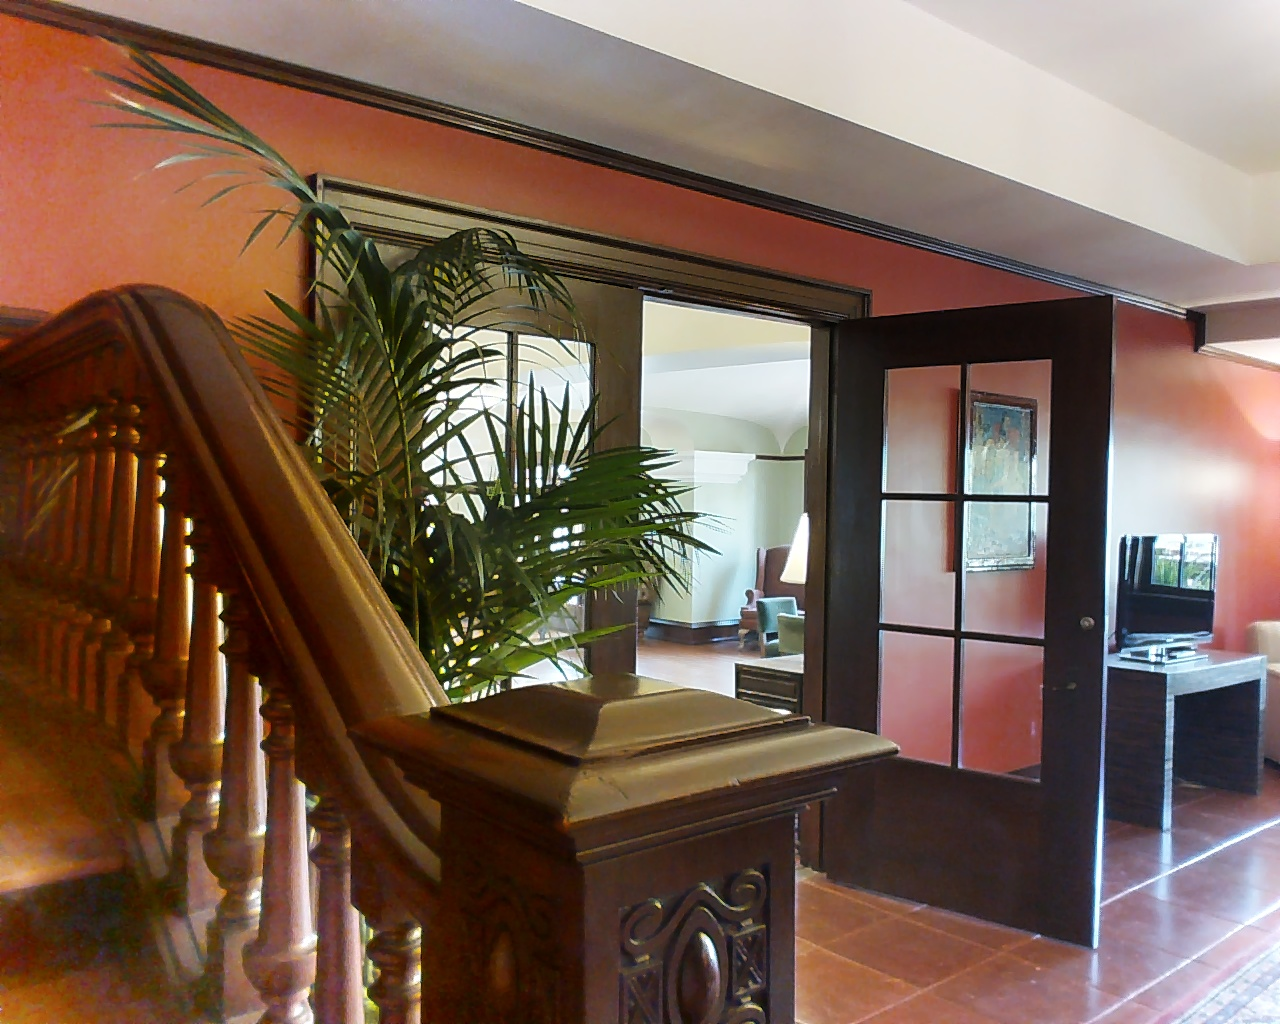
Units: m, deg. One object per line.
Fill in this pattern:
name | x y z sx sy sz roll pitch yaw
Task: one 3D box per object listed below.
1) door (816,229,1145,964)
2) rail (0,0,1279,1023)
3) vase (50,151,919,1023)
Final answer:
door | 1.250 0.280 4.110 1.160 2.490 0.210 2 1 41
rail | -0.440 0.300 1.410 0.460 1.170 2.780 -2 -27 -38
vase | -0.360 0.470 2.750 1.790 2.090 1.230 0 1 -40
